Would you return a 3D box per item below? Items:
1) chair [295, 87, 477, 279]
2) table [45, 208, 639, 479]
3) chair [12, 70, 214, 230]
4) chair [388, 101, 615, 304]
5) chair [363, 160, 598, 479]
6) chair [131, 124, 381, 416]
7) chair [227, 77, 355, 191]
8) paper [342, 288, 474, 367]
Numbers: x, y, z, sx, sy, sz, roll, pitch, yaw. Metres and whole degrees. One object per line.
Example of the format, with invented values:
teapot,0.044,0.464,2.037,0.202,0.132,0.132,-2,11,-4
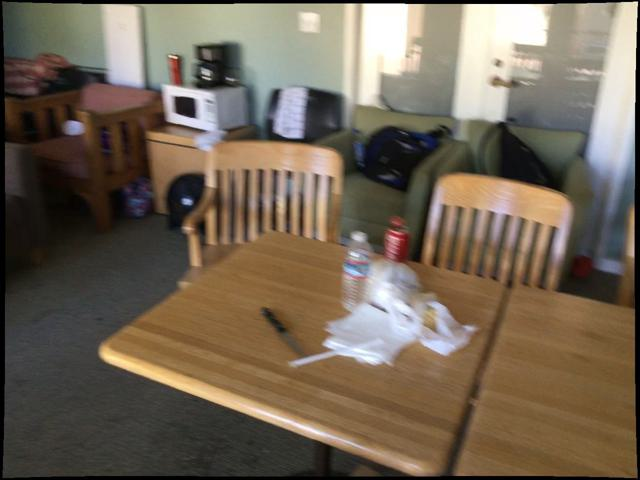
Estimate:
chair,0.390,-0.380,3.330,0.789,0.781,0.820,11,28,20
table,0.340,0.541,1.370,1.549,0.751,0.840,11,28,20
chair,-1.299,-0.631,3.760,0.829,0.731,0.800,15,29,27
chair,0.959,-0.260,3.100,0.949,0.711,0.820,11,28,20
chair,0.529,0.250,1.930,0.560,0.811,0.650,11,28,20
chair,-0.180,0.060,2.300,0.699,0.811,0.780,6,26,12
chair,-0.150,-0.661,3.460,0.520,0.470,0.650,11,28,20
paper,0.200,0.190,1.300,0.260,0.040,0.160,11,28,20
